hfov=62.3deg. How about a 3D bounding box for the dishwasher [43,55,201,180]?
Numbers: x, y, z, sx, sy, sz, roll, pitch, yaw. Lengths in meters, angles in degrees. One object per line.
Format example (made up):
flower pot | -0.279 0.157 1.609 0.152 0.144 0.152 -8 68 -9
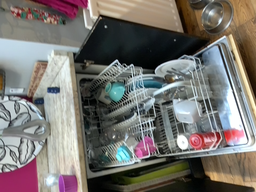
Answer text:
dishwasher | -0.090 0.190 1.600 0.670 0.880 0.660 -33 63 53
